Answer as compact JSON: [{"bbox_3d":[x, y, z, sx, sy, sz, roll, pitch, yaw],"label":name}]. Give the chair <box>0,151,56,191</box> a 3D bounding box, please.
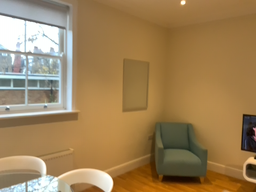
[{"bbox_3d":[-1.020,1.000,2.020,0.470,0.770,0.550,2,3,0],"label":"chair"}]
